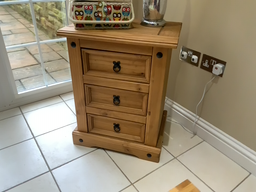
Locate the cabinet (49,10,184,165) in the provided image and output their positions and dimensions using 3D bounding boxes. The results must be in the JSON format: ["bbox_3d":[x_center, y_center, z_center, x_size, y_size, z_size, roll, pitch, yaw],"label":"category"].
[{"bbox_3d":[-0.020,-0.080,1.230,0.550,0.660,0.520,9,32,9],"label":"cabinet"}]
